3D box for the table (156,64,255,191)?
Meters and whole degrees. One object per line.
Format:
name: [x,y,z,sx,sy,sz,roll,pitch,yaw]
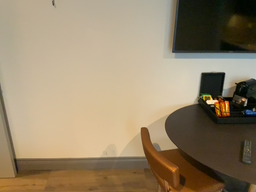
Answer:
table: [0.980,0.280,1.460,1.360,0.740,1.020,0,22,-3]
